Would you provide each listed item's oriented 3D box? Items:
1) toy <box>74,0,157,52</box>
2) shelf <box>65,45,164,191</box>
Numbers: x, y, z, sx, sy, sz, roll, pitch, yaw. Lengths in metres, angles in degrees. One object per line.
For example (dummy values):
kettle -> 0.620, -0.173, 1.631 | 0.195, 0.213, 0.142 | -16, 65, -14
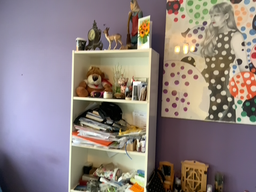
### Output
toy -> -0.090, -0.510, 1.610 | 0.560, 0.290, 0.270 | 4, 2, 21
shelf -> -0.120, 0.560, 1.630 | 0.640, 1.820, 0.280 | 4, 2, 20
